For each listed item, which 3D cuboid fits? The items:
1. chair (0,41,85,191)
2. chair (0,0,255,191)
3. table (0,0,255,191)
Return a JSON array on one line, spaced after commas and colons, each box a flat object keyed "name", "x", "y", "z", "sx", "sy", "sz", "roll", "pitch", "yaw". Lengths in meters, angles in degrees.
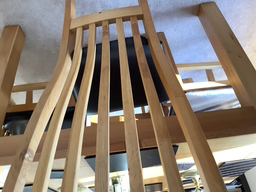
[{"name": "chair", "x": -0.540, "y": 0.260, "z": 1.100, "sx": 0.570, "sy": 1.050, "sz": 0.460, "roll": -4, "pitch": 146, "yaw": -7}, {"name": "chair", "x": -0.040, "y": -0.030, "z": 0.760, "sx": 0.460, "sy": 1.060, "sz": 0.570, "roll": -11, "pitch": 146, "yaw": 4}, {"name": "table", "x": -0.030, "y": 0.090, "z": 1.210, "sx": 1.210, "sy": 0.770, "sz": 0.870, "roll": -8, "pitch": 146, "yaw": 0}]
